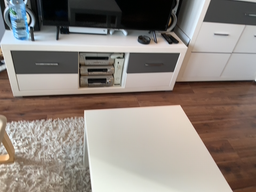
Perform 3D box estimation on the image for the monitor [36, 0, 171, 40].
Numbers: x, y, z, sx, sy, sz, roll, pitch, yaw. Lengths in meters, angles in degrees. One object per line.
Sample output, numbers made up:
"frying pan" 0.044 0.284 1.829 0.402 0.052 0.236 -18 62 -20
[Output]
"monitor" -0.140 -0.720 1.510 0.960 0.620 0.060 -2 41 -16
